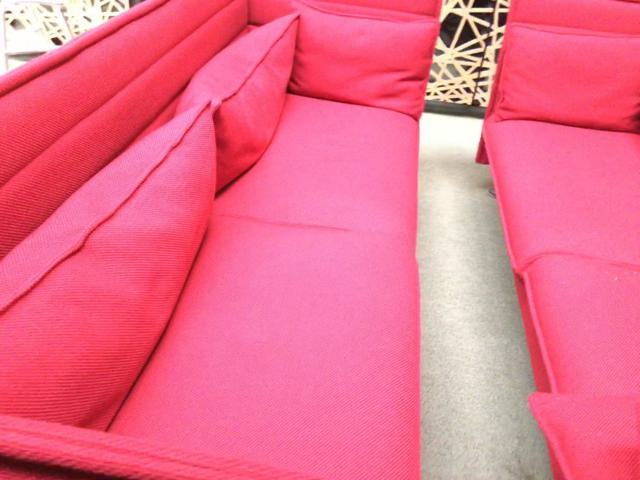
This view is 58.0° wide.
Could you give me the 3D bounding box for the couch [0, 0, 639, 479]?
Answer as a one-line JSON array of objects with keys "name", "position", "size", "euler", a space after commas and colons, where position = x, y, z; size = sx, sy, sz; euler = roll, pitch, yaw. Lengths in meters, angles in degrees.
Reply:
[{"name": "couch", "position": [-0.080, -0.170, 1.590], "size": [0.960, 1.060, 2.430], "euler": [6, 29, 6]}]
